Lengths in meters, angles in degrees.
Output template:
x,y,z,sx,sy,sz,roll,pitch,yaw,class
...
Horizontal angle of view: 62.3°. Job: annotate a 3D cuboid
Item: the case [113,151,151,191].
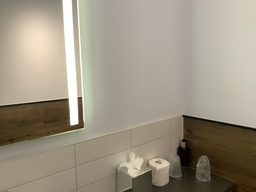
x,y,z,sx,sy,sz,roll,pitch,yaw,class
0.020,0.380,1.000,0.150,0.180,0.100,-8,11,-43,case
